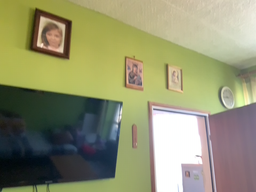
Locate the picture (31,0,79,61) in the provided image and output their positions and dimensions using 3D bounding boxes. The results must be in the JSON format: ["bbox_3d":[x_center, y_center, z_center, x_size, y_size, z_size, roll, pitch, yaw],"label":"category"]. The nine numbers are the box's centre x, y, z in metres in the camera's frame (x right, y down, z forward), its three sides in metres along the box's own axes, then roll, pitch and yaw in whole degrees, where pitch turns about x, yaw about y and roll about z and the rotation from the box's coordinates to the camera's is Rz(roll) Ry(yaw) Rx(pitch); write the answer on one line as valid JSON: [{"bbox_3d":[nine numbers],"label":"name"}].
[{"bbox_3d":[-0.530,-0.490,1.570,0.310,0.400,0.050,8,-17,-33],"label":"picture"}]

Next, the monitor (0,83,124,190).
[{"bbox_3d":[-0.450,0.250,1.340,0.960,0.550,0.100,9,-13,-35],"label":"monitor"}]
